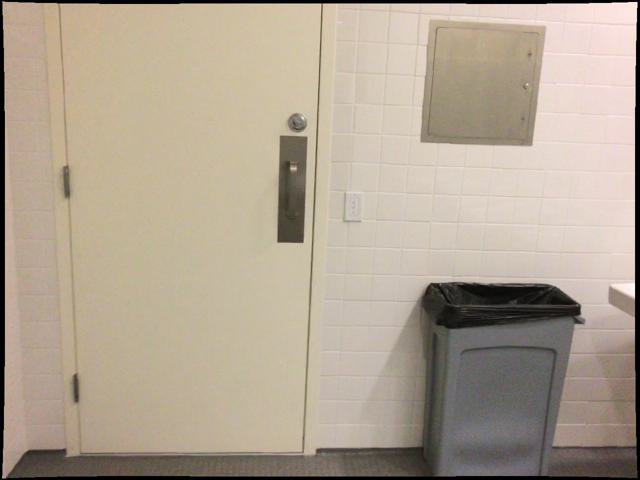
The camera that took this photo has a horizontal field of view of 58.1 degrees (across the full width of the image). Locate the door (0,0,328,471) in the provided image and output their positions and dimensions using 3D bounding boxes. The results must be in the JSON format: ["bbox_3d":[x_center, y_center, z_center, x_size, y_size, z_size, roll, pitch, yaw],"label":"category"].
[{"bbox_3d":[-0.588,0.000,2.200,1.087,1.894,0.170,3,15,-4],"label":"door"}]
